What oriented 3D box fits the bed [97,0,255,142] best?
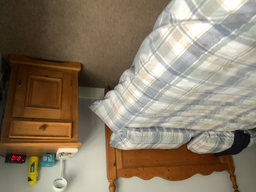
[{"bbox_3d":[0.780,-0.200,1.590,1.500,0.610,2.060,5,154,-22],"label":"bed"}]

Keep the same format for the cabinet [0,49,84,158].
[{"bbox_3d":[-0.700,0.090,1.770,0.570,0.750,0.440,5,154,-22],"label":"cabinet"}]
